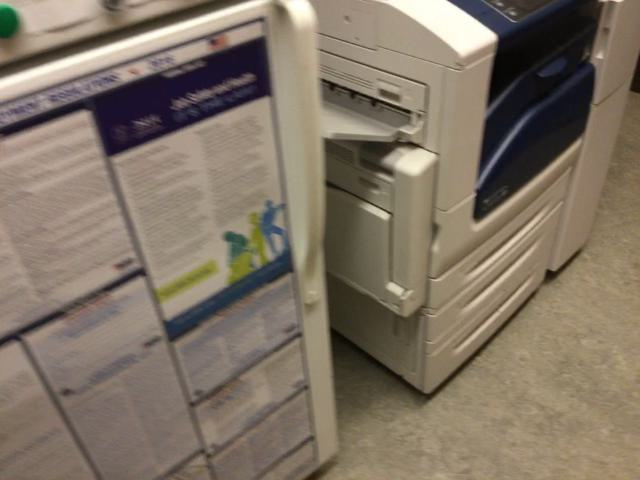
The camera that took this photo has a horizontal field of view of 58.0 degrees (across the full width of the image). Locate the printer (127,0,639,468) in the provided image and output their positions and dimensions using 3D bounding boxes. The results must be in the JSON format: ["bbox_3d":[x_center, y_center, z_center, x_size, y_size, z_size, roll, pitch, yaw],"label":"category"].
[{"bbox_3d":[0.310,-0.310,1.480,1.150,1.130,0.690,-32,45,-24],"label":"printer"}]
